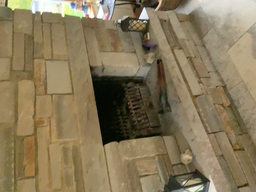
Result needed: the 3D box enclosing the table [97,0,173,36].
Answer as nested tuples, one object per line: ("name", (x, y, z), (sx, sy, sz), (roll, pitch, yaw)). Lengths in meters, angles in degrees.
("table", (0.050, -1.240, 2.730), (0.590, 0.700, 0.610), (121, 140, -52))
